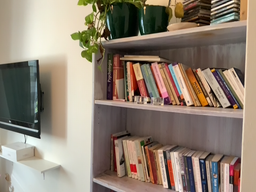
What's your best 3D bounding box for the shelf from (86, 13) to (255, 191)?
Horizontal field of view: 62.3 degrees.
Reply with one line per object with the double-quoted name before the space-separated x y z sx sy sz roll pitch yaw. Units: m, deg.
"shelf" 0.190 0.580 1.160 0.870 1.790 0.330 4 4 37
